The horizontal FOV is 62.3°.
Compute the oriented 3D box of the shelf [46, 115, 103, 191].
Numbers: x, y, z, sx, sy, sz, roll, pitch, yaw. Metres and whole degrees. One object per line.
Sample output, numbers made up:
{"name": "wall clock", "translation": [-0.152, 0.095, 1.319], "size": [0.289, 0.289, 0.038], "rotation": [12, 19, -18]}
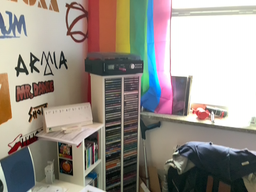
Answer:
{"name": "shelf", "translation": [-0.350, 0.660, 1.470], "size": [0.270, 0.990, 0.240], "rotation": [6, 13, 21]}
